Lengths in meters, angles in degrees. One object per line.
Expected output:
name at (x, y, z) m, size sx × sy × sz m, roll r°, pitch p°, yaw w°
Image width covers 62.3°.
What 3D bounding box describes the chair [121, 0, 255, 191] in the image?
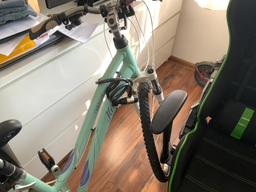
chair at (0.490, 0.110, 0.790) m, size 0.730 × 1.250 × 0.770 m, roll 23°, pitch 47°, yaw 19°
